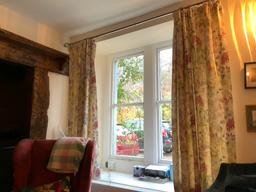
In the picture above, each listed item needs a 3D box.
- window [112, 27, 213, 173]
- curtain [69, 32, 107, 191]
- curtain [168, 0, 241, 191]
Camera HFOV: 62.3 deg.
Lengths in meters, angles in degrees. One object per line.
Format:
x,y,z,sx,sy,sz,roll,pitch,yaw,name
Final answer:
0.330,0.070,2.690,1.340,1.550,0.090,-6,-10,39,window
-0.460,0.160,2.450,0.380,1.720,0.180,-5,-9,36,curtain
0.610,-0.020,1.770,0.460,1.840,0.210,-7,-10,41,curtain
